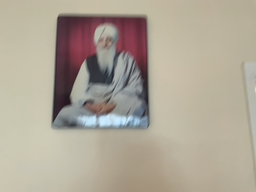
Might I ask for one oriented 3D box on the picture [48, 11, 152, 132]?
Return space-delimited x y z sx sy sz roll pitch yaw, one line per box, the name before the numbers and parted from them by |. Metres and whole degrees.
picture | -0.110 -0.110 0.870 0.400 0.500 0.020 -1 -9 -2
